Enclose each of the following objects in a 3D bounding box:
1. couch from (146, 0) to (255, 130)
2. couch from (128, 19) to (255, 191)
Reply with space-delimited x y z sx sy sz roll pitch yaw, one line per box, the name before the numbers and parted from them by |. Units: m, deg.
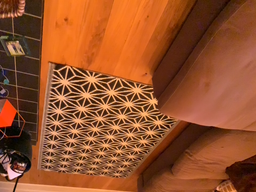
couch | 0.540 -0.330 1.070 0.480 0.430 1.100 11 137 -16
couch | 1.060 0.520 1.840 1.210 0.750 2.950 11 137 -16
